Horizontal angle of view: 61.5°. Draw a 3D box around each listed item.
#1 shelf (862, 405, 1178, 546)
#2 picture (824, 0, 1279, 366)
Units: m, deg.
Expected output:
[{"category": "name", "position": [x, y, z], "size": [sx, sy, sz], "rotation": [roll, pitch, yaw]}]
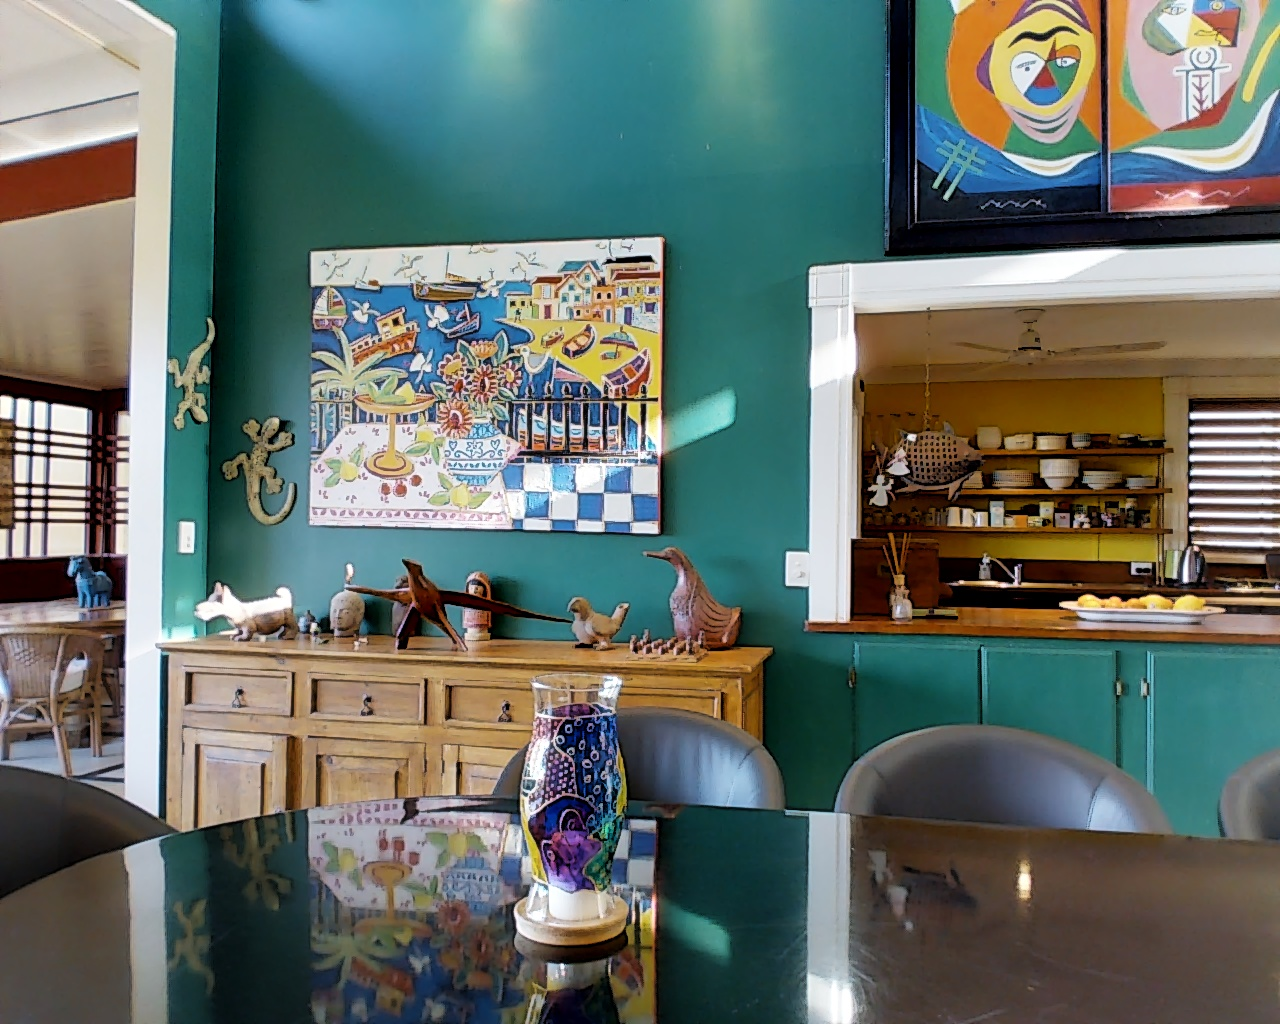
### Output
[{"category": "shelf", "position": [2.389, -0.220, 6.900], "size": [1.869, 0.850, 0.320], "rotation": [0, -1, 14]}, {"category": "picture", "position": [1.519, -1.420, 3.490], "size": [1.150, 1.500, 0.060], "rotation": [-37, -10, 11]}]
